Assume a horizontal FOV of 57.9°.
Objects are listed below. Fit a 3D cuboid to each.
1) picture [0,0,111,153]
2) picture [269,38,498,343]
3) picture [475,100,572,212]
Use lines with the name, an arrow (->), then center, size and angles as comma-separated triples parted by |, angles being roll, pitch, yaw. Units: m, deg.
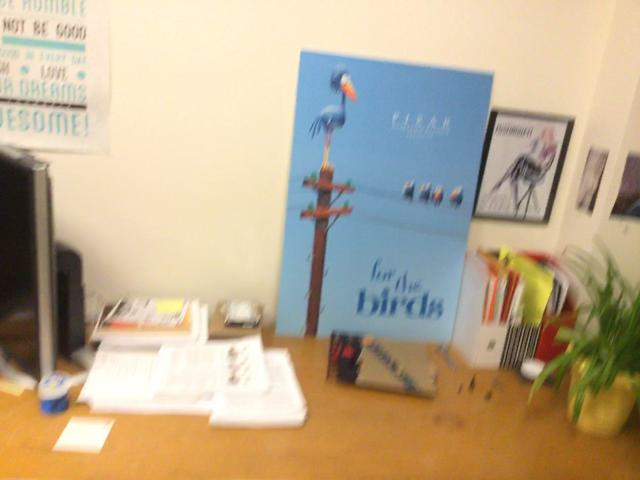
picture -> -0.840, -0.680, 1.470 | 0.580, 0.860, 0.050 | 4, 17, -12
picture -> 0.180, -0.120, 1.780 | 0.600, 0.880, 0.100 | 3, 12, -12
picture -> 0.640, -0.260, 1.830 | 0.240, 0.330, 0.030 | 4, 17, -12
